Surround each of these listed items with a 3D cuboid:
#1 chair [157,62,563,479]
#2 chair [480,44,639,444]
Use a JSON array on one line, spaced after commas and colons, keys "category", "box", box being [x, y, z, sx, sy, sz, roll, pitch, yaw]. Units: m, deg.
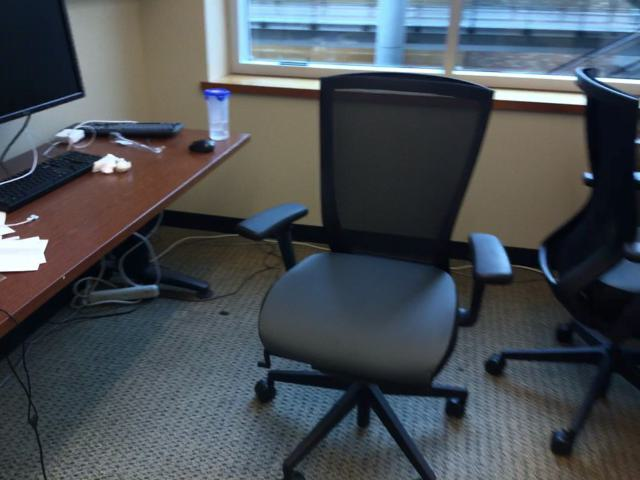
[{"category": "chair", "box": [0.140, 0.110, 1.610, 0.800, 1.050, 0.600, -1, 23, 9]}, {"category": "chair", "box": [0.900, -0.020, 1.810, 0.670, 1.060, 0.680, -1, 23, 9]}]
